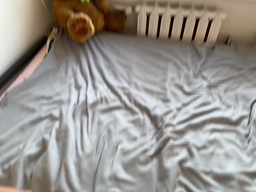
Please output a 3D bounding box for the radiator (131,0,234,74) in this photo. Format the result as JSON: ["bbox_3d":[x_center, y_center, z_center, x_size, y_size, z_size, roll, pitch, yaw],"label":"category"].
[{"bbox_3d":[0.430,-0.530,1.890,0.760,0.540,0.200,10,44,8],"label":"radiator"}]
